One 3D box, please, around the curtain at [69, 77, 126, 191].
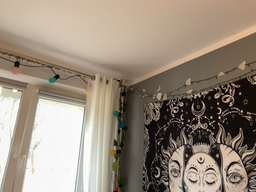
[{"bbox_3d":[-0.320,0.620,2.220,0.370,1.550,0.370,15,-21,-34],"label":"curtain"}]
